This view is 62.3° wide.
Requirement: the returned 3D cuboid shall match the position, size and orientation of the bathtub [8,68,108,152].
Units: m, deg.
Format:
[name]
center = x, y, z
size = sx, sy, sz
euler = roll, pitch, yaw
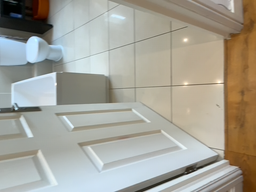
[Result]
[bathtub]
center = -0.980, 0.130, 2.630
size = 1.730, 0.560, 0.710
euler = -2, 89, 50
